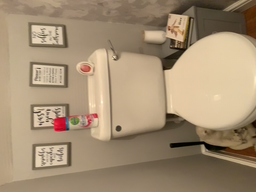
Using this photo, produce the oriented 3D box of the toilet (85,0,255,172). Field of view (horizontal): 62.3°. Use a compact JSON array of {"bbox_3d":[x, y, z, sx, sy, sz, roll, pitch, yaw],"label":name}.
[{"bbox_3d":[0.270,-0.050,0.940,0.690,0.780,0.460,167,100,-69],"label":"toilet"}]
